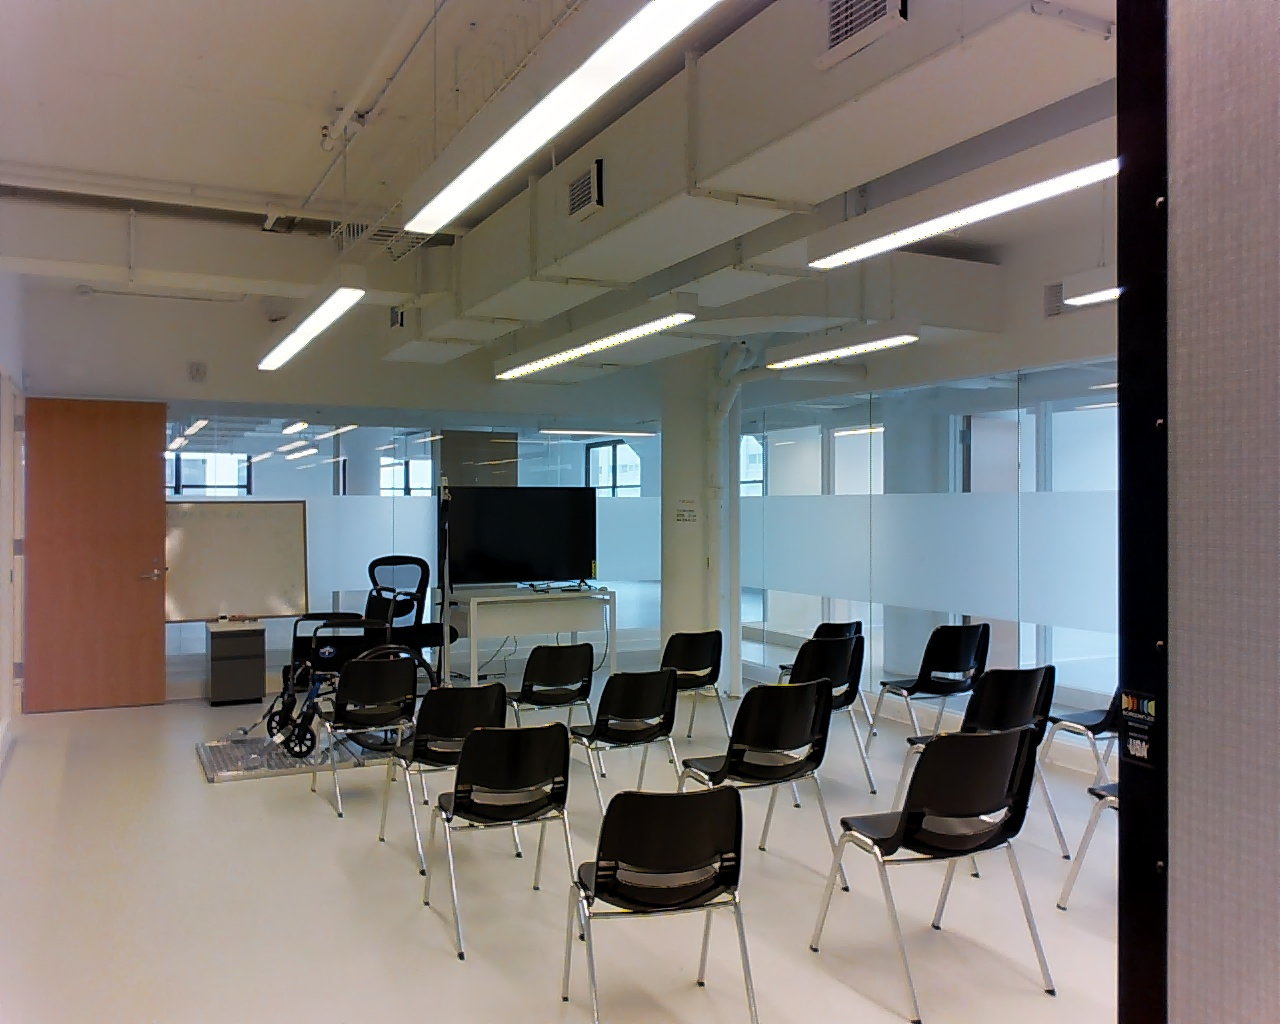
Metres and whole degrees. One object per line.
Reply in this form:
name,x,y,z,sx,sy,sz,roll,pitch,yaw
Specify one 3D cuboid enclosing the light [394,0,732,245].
light,-0.120,-0.850,2.070,0.100,0.110,2.460,0,0,-27
